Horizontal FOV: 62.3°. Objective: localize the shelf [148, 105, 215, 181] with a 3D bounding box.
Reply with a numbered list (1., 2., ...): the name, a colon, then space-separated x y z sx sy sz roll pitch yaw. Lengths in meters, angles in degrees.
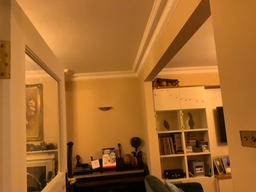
1. shelf: 0.980 0.850 3.980 1.050 1.270 0.320 -4 -7 -5
